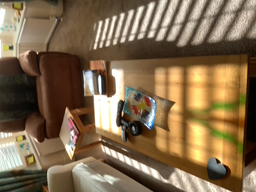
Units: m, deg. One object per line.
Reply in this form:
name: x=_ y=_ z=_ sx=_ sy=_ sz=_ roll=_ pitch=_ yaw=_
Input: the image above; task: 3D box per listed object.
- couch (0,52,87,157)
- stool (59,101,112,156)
couch: x=-1.260 y=-0.020 z=2.840 sx=1.020 sy=0.970 sz=1.090 roll=12 pitch=107 yaw=48
stool: x=-0.510 y=0.370 z=2.470 sx=0.350 sy=0.400 sz=0.450 roll=51 pitch=132 yaw=31
